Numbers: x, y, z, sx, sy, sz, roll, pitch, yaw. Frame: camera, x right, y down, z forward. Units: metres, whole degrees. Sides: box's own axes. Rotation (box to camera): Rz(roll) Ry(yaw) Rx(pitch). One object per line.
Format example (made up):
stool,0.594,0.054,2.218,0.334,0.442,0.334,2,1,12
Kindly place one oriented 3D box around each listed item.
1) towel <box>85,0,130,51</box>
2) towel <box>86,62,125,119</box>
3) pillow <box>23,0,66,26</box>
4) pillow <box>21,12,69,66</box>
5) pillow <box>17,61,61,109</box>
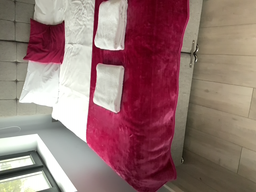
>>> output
towel,-0.170,-0.540,1.590,0.470,0.090,0.360,22,110,52
towel,-0.190,-0.060,1.630,0.440,0.070,0.350,22,110,52
pillow,-0.960,-1.150,2.500,0.120,0.420,0.520,-117,39,-77
pillow,-0.990,-0.670,2.540,0.150,0.480,0.550,-92,9,-83
pillow,-1.100,-0.130,2.640,0.130,0.480,0.550,-132,47,-70
